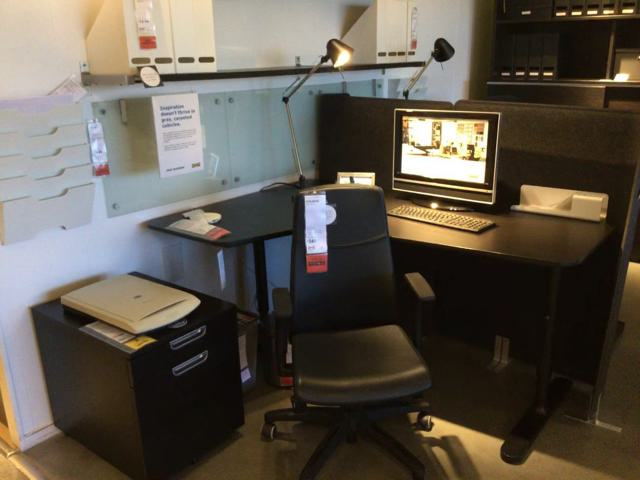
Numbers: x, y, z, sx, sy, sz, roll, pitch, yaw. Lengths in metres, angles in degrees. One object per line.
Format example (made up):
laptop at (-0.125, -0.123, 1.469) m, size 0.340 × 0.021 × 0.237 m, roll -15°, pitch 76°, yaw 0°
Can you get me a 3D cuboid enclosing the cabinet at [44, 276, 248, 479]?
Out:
cabinet at (-0.630, 0.510, 2.120) m, size 0.560 × 0.570 × 0.440 m, roll 11°, pitch 18°, yaw 40°
